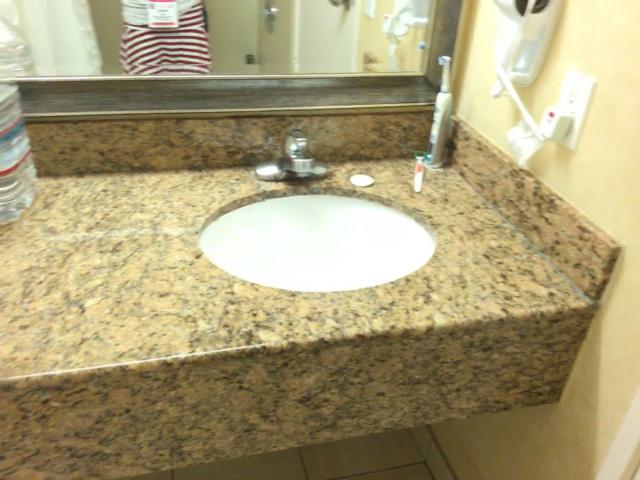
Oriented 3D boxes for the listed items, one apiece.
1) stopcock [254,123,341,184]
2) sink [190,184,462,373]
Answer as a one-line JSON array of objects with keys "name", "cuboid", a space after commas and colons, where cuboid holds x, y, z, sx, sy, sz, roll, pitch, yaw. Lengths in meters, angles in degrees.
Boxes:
[{"name": "stopcock", "cuboid": [-0.050, -0.180, 1.180, 0.150, 0.080, 0.120, -5, 31, -15]}, {"name": "sink", "cuboid": [-0.010, 0.050, 1.070, 0.420, 0.180, 0.290, -5, 31, -15]}]
